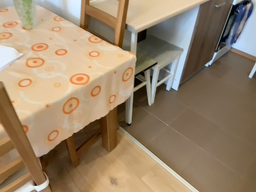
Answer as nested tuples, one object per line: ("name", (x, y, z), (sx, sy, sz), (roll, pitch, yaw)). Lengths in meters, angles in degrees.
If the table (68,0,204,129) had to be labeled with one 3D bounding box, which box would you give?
("table", (0.040, -0.360, 1.690), (0.610, 0.840, 0.680), (36, 51, 29))
